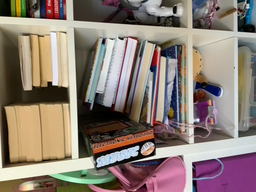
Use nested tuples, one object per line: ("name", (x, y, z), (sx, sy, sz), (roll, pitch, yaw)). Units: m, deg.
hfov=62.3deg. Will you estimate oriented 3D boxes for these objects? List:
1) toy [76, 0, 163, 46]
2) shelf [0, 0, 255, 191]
("toy", (-0.050, -0.380, 0.760), (0.280, 0.240, 0.330), (-176, 85, -71))
("shelf", (0.140, -0.190, 0.790), (0.370, 1.410, 0.740), (-173, 80, -71))
